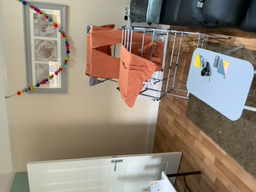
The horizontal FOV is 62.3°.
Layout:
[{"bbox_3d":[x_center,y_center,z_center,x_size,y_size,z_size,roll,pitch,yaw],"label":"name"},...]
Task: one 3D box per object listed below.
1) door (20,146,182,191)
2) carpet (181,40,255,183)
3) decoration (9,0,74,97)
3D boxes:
[{"bbox_3d":[-0.310,1.180,2.950,0.210,2.080,0.870,-125,39,-63],"label":"door"},{"bbox_3d":[1.010,0.070,2.050,1.550,0.050,1.020,-128,41,-64],"label":"carpet"},{"bbox_3d":[-1.190,-0.750,3.020,0.230,0.790,1.520,-128,42,-65],"label":"decoration"}]
